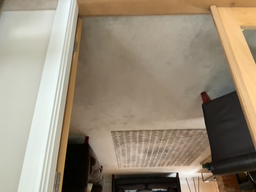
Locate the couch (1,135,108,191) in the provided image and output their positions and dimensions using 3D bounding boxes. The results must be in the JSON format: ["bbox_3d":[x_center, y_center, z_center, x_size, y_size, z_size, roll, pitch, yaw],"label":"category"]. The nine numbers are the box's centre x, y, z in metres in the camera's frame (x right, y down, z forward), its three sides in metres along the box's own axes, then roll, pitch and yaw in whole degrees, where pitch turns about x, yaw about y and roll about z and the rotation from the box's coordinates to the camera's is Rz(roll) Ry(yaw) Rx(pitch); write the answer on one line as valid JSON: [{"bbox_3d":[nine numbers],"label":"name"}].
[{"bbox_3d":[-1.070,1.540,3.930,1.200,0.860,2.280,-1,150,-1],"label":"couch"}]

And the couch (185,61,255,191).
[{"bbox_3d":[1.340,0.350,2.040,0.990,0.910,1.070,-27,141,36],"label":"couch"}]
